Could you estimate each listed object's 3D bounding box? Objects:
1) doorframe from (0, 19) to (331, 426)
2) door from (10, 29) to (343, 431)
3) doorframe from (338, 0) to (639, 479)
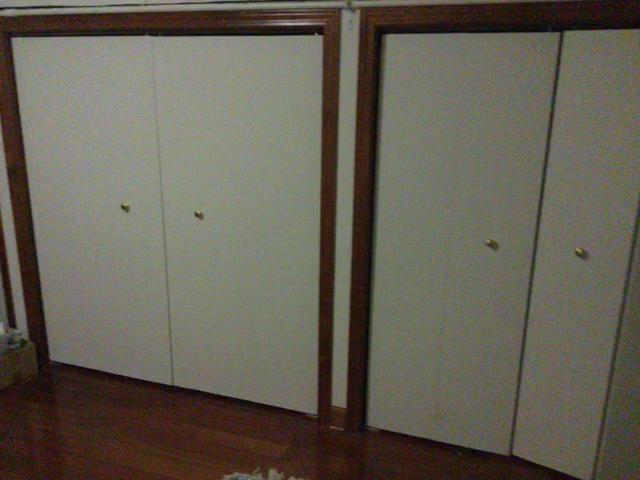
[{"bbox_3d":[-0.730,-0.090,2.470,1.510,1.590,0.130,6,15,15],"label":"doorframe"},{"bbox_3d":[-0.640,-0.050,2.480,1.420,1.600,0.090,6,15,15],"label":"door"},{"bbox_3d":[0.760,0.050,1.940,1.310,1.700,0.210,6,15,15],"label":"doorframe"}]
